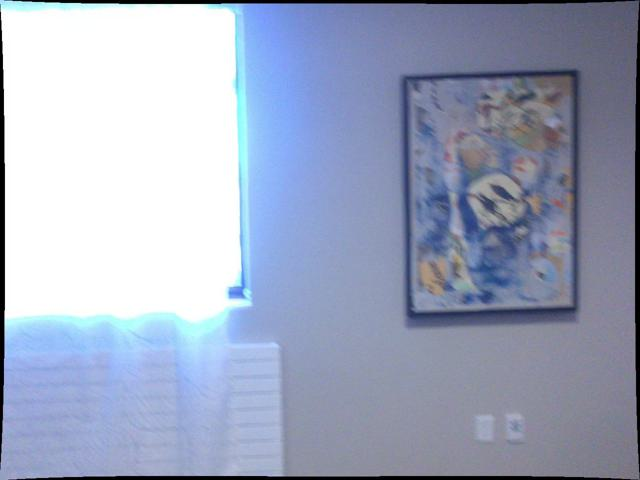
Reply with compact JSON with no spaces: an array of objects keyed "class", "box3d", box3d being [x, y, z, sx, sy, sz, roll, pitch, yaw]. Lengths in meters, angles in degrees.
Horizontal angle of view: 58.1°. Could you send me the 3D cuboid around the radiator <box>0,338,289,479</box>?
[{"class":"radiator","box3d":[-1.058,0.871,2.540,1.817,0.791,0.140,-2,4,0]}]
